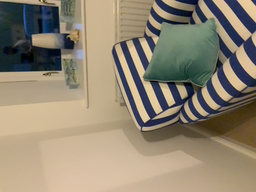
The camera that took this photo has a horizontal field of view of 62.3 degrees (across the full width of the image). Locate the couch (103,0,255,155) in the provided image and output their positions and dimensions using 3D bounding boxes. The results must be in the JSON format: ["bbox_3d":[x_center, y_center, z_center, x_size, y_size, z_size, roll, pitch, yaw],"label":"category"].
[{"bbox_3d":[0.470,-0.330,1.300,0.920,0.840,0.920,-61,42,49],"label":"couch"}]
